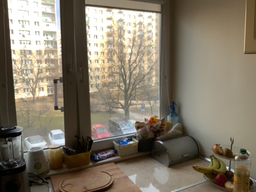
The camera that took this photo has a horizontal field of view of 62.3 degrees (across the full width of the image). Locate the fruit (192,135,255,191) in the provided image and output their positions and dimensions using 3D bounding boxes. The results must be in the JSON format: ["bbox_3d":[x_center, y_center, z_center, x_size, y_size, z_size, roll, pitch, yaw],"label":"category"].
[{"bbox_3d":[0.610,0.420,1.360,0.280,0.240,0.260,-4,8,-24],"label":"fruit"}]
